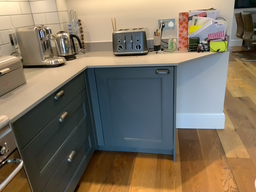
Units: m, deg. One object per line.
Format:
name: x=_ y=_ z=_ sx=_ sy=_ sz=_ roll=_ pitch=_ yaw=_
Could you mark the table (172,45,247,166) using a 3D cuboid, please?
table: x=0.620 y=0.050 z=1.830 sx=0.450 sy=0.860 sz=0.580 roll=0 pitch=23 yaw=10
